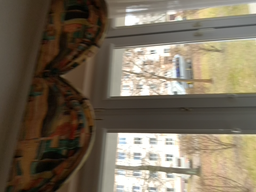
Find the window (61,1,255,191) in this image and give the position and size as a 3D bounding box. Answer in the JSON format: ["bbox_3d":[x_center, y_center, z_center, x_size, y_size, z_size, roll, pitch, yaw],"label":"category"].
[{"bbox_3d":[0.390,0.430,1.410,0.180,1.640,2.450,63,-152,-65],"label":"window"}]
